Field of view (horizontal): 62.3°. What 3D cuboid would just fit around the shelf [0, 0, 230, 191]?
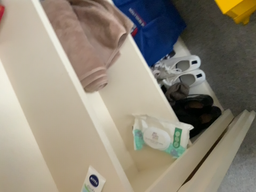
[{"bbox_3d":[-0.460,-0.150,0.380,0.270,2.100,1.150,-34,81,37],"label":"shelf"}]
